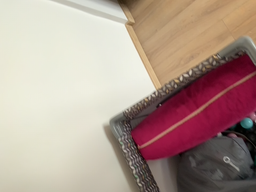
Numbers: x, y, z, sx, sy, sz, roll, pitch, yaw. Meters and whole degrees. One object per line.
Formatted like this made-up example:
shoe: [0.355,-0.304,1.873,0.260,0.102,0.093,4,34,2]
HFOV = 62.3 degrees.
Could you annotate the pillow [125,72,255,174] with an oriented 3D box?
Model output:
pillow: [0.330,0.120,0.990,0.540,0.390,0.210,-34,76,34]
